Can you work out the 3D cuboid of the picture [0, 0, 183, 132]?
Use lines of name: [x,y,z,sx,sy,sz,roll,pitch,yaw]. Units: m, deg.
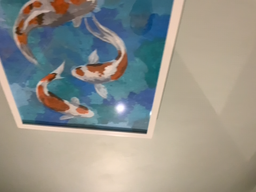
picture: [-0.120,-0.070,0.540,0.430,0.420,0.020,5,-140,-1]
